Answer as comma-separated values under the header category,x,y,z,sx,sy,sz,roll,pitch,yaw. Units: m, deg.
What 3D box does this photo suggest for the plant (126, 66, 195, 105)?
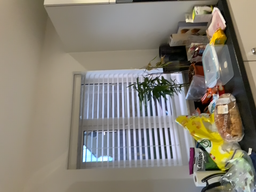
category,x,y,z,sx,sy,sz,roll,pitch,yaw
plant,0.250,-0.080,1.800,0.240,0.530,0.230,89,179,-67

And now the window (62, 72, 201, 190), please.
category,x,y,z,sx,sy,sz,roll,pitch,yaw
window,0.010,0.260,1.890,0.030,1.110,1.010,89,179,-68
